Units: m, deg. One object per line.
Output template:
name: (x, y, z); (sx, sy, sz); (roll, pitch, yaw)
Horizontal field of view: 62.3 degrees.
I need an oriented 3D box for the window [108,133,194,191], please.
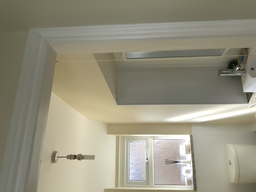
window: (0.260, 0.770, 2.520); (0.140, 0.950, 0.620); (81, -170, -66)
